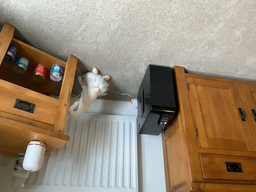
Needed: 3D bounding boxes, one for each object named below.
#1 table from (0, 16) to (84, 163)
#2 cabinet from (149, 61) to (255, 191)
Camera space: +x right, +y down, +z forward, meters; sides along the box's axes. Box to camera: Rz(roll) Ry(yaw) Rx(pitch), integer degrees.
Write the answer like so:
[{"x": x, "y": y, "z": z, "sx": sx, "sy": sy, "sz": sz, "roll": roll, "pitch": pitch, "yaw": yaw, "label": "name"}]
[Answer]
[{"x": -0.670, "y": 0.010, "z": 1.310, "sx": 0.520, "sy": 0.590, "sz": 0.540, "roll": 24, "pitch": 141, "yaw": -32, "label": "table"}, {"x": 0.910, "y": 0.330, "z": 1.570, "sx": 1.370, "sy": 0.830, "sz": 0.540, "roll": 7, "pitch": 147, "yaw": -9, "label": "cabinet"}]
